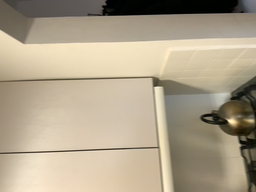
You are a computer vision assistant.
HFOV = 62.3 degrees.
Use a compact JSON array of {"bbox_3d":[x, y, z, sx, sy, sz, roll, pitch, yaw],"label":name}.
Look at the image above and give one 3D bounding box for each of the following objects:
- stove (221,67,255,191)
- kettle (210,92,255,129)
[{"bbox_3d":[0.660,0.190,1.050,0.560,0.040,0.630,95,172,-73],"label":"stove"},{"bbox_3d":[0.570,0.080,1.130,0.170,0.180,0.150,94,173,-70],"label":"kettle"}]
